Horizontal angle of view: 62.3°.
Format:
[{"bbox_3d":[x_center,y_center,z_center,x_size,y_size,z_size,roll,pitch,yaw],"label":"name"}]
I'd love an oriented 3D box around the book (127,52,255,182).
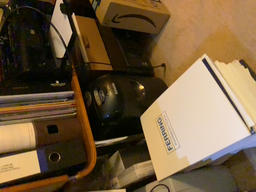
[{"bbox_3d":[0.220,0.070,0.680,0.290,0.270,0.270,-48,54,46],"label":"book"}]
